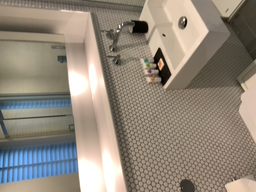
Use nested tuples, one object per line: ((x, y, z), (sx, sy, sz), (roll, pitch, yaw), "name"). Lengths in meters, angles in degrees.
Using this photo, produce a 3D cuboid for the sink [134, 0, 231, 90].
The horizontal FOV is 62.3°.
((0.240, -0.410, 1.200), (0.420, 0.150, 0.620), (117, 144, -52), "sink")
